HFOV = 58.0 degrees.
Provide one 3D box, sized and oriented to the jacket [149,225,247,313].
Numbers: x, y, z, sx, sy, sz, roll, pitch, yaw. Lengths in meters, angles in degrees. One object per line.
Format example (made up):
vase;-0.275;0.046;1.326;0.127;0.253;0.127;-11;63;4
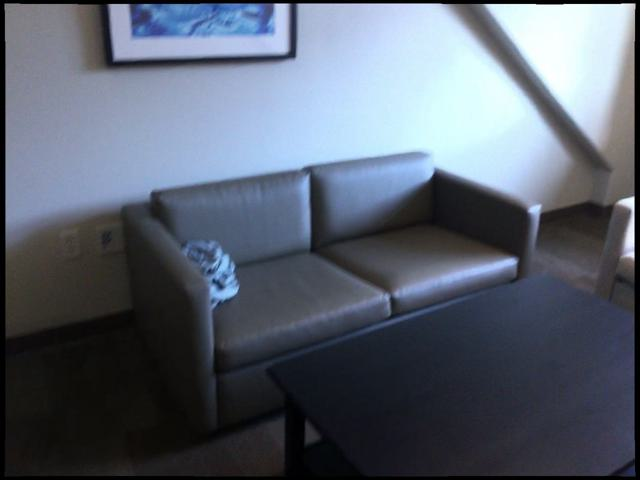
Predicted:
jacket;-0.449;0.100;2.210;0.289;0.160;0.400;1;25;-1

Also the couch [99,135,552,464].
couch;0.020;0.090;2.490;1.598;0.721;0.920;-12;28;-28

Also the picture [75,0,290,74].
picture;-0.509;-1.032;2.240;0.849;0.701;0.070;-12;28;-28
